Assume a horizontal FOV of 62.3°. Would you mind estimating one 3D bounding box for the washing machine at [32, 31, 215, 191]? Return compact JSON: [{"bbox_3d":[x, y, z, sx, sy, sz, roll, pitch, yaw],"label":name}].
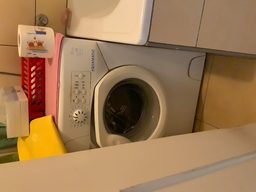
[{"bbox_3d":[-0.060,0.010,1.060,0.500,0.700,0.540,30,117,54],"label":"washing machine"}]
